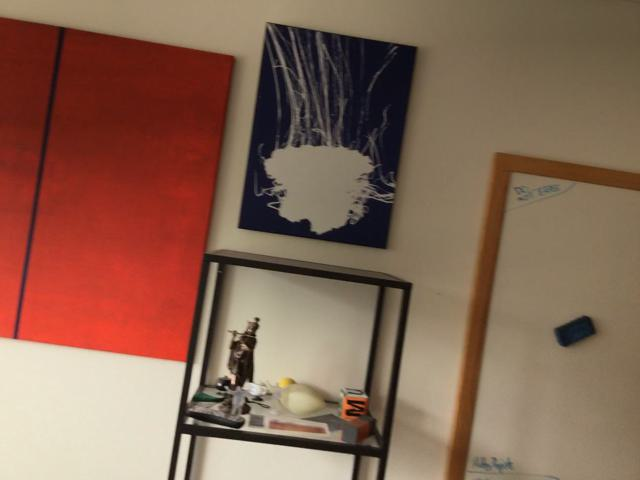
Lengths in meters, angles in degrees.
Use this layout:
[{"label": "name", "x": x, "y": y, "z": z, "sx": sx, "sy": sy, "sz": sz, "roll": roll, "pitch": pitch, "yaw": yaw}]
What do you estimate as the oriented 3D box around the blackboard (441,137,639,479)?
[{"label": "blackboard", "x": 0.850, "y": 0.400, "z": 1.670, "sx": 0.930, "sy": 1.280, "sz": 0.130, "roll": 5, "pitch": -1, "yaw": -5}]
